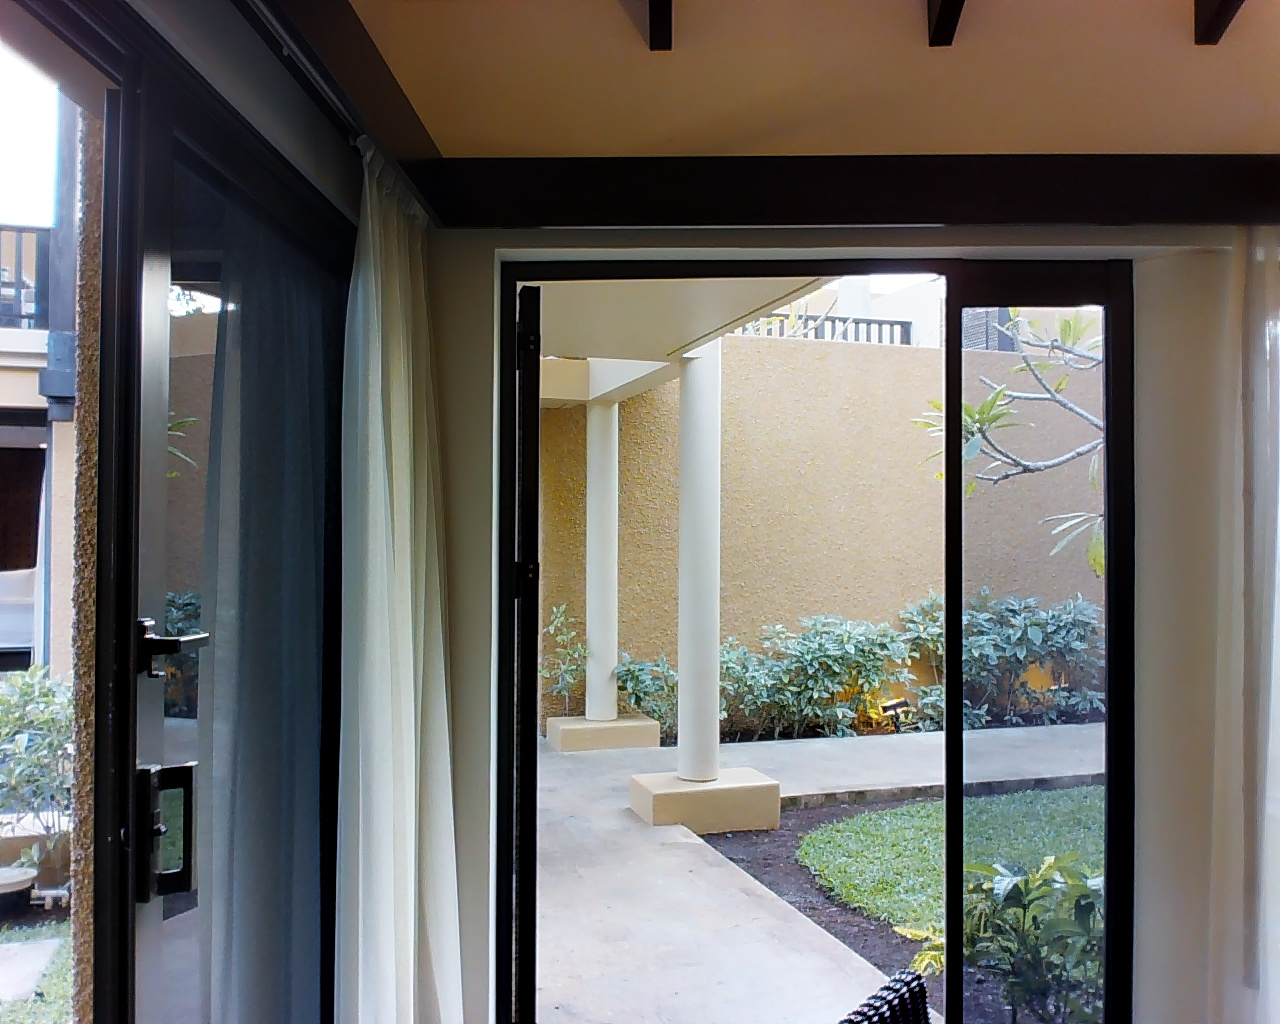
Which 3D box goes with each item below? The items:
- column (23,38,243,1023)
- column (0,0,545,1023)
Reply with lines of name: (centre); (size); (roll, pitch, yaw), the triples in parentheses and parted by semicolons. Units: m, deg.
column: (-0.660, 0.430, 1.410); (0.240, 2.051, 0.100); (-1, 0, 7)
column: (-0.890, 0.190, 1.230); (1.170, 2.781, 3.440); (0, 0, 1)
